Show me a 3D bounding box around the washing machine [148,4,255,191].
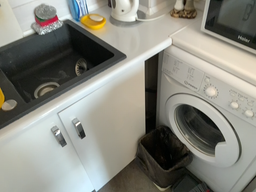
[{"bbox_3d":[0.490,0.100,1.140,0.460,0.870,0.590,-33,53,-25],"label":"washing machine"}]
